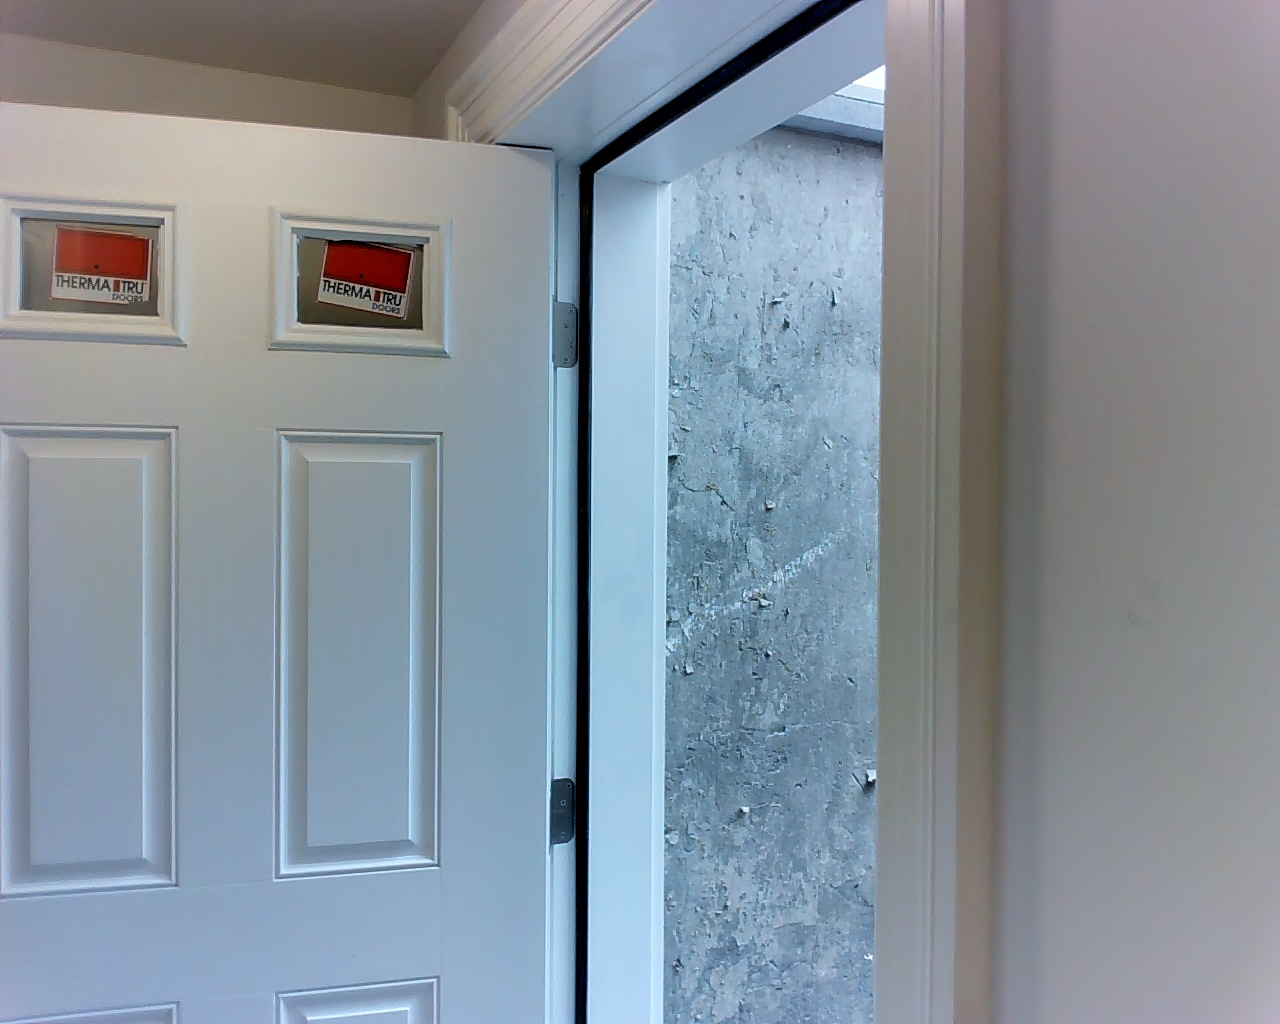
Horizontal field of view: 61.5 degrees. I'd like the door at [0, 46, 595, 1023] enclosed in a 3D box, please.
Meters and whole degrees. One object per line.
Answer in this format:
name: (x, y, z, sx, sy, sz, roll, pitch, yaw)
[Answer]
door: (-0.570, 0.450, 1.520, 1.010, 2.120, 0.060, 0, 1, -14)
